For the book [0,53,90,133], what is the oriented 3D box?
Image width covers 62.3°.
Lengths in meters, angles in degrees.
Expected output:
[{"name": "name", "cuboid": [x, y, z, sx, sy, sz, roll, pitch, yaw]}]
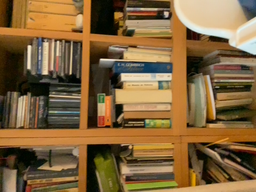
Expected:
[{"name": "book", "cuboid": [-0.340, 0.000, 0.920, 0.260, 0.330, 0.290, 159, 112, -78]}]
